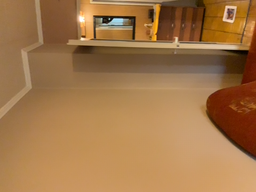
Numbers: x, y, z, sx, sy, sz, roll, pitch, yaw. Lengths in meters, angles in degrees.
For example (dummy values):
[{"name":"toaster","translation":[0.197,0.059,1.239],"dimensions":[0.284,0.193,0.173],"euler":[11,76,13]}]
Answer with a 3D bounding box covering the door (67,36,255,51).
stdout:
[{"name":"door","translation":[0.530,-0.540,2.170],"dimensions":[0.830,2.120,0.060],"euler":[-112,23,-72]}]
